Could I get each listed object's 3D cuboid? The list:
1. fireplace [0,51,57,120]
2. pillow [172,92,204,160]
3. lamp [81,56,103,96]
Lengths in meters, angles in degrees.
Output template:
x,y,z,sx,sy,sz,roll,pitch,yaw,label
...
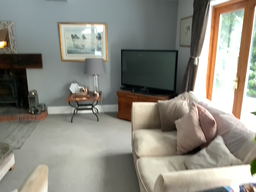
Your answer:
x,y,z,sx,sy,sz,roll,pitch,yaw,label
-2.600,-0.280,4.380,1.880,1.250,1.020,-1,14,-6,fireplace
0.620,0.310,2.200,0.130,0.500,0.480,-16,38,6,pillow
-0.690,-0.400,4.150,0.380,0.720,0.430,-1,14,-6,lamp
